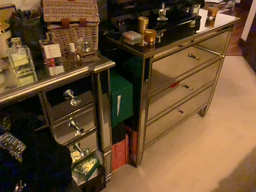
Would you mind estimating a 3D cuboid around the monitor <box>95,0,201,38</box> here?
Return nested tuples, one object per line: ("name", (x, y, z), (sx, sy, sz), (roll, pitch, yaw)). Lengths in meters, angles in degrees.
("monitor", (0.170, -0.670, 1.120), (0.790, 0.540, 0.070), (-27, 47, -31))
